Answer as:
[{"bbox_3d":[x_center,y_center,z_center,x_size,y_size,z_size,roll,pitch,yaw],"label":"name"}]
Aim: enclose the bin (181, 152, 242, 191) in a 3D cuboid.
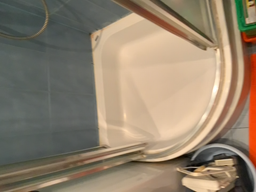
[{"bbox_3d":[0.400,0.380,1.000,0.180,0.250,0.180,-10,82,39],"label":"bin"}]
